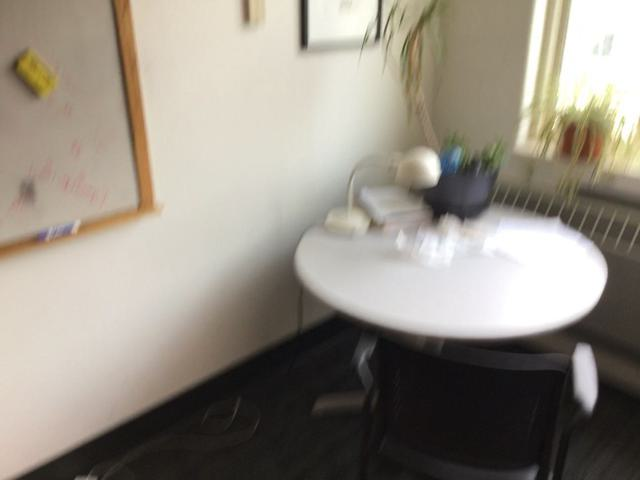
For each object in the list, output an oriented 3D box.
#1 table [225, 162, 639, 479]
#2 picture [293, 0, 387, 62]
[{"bbox_3d":[0.450,0.300,2.140,1.140,0.800,1.000,-22,30,-39],"label":"table"},{"bbox_3d":[0.080,-1.070,2.110,0.460,0.760,0.050,-22,30,-39],"label":"picture"}]
